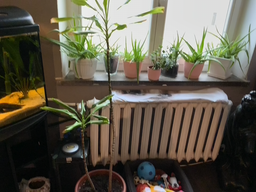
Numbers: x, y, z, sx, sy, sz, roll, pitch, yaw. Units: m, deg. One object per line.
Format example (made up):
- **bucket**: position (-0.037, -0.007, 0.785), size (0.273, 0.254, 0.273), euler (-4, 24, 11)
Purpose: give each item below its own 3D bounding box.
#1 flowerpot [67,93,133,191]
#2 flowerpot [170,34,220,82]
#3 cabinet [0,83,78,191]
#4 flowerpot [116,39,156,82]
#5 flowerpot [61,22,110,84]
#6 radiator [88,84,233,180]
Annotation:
- **flowerpot**: position (-0.200, 0.430, 1.410), size (0.330, 0.780, 0.430), euler (-1, 25, -12)
- **flowerpot**: position (0.550, -0.320, 1.790), size (0.270, 0.350, 0.220), euler (-1, 25, -11)
- **cabinet**: position (-0.900, 0.460, 1.260), size (0.560, 0.710, 1.040), euler (20, 29, 32)
- **flowerpot**: position (0.050, -0.300, 1.760), size (0.270, 0.290, 0.250), euler (0, 25, -9)
- **flowerpot**: position (-0.320, -0.330, 1.620), size (0.320, 0.400, 0.280), euler (-1, 25, -12)
- **radiator**: position (0.230, 0.290, 1.820), size (1.110, 0.730, 0.270), euler (-1, 25, -12)
